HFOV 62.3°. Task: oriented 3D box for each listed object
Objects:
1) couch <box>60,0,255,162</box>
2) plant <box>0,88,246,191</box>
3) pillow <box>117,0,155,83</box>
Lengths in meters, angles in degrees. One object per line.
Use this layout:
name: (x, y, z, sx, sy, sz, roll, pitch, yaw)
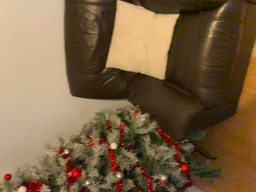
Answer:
couch: (0.160, -0.320, 1.380, 0.890, 0.940, 0.880, 31, 122, 51)
plant: (-0.190, 0.570, 1.490, 0.900, 1.680, 0.850, 34, 124, 51)
pillow: (0.060, -0.330, 1.330, 0.410, 0.090, 0.440, -60, -14, -77)
